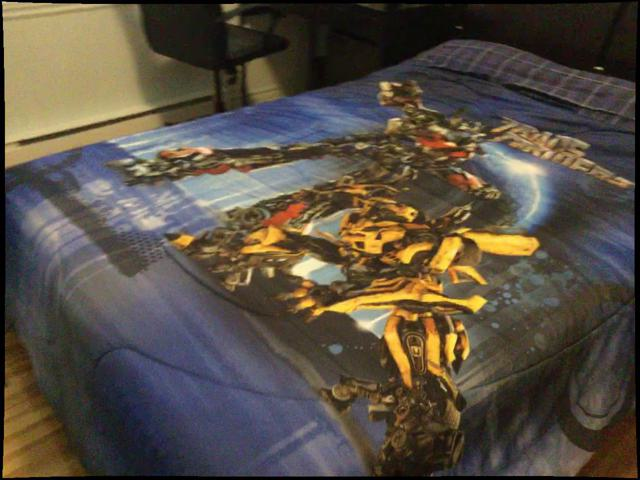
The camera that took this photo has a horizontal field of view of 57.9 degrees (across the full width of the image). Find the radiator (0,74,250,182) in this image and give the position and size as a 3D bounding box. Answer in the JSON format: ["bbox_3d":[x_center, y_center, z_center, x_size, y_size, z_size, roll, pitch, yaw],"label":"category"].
[{"bbox_3d":[-0.949,-0.591,2.900,1.369,0.180,0.100,-25,43,-33],"label":"radiator"}]
